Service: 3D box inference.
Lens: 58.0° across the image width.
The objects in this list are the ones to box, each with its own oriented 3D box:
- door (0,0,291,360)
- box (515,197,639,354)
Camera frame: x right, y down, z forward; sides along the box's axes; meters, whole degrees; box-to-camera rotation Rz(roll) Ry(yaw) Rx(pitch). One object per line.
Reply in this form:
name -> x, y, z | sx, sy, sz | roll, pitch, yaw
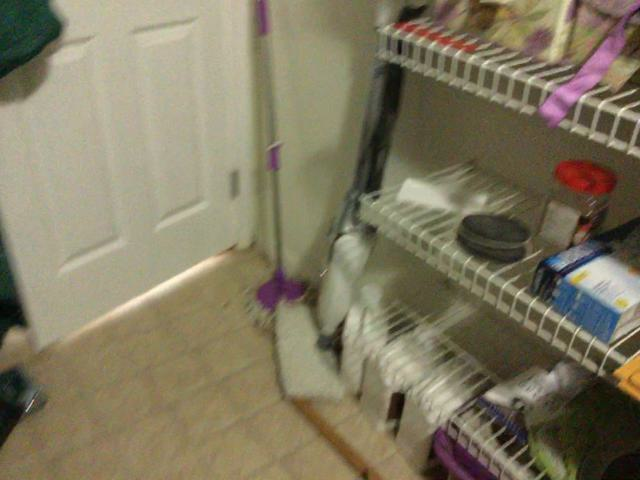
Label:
door -> -0.450, -0.680, 1.340 | 0.850, 2.060, 0.150 | -21, 41, -33
box -> 0.480, 0.040, 0.910 | 0.300, 0.070, 0.180 | -21, 41, -33
